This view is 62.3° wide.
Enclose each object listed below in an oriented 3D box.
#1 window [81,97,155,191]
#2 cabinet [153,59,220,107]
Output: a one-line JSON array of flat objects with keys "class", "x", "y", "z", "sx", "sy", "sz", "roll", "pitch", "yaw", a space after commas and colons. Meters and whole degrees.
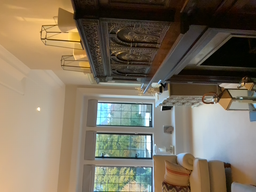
[{"class": "window", "x": -0.190, "y": 1.110, "z": 5.020, "sx": 0.090, "sy": 1.660, "sz": 2.100, "roll": 114, "pitch": 158, "yaw": -79}, {"class": "cabinet", "x": 0.970, "y": -0.180, "z": 3.840, "sx": 1.110, "sy": 0.840, "sz": 0.550, "roll": 111, "pitch": 161, "yaw": -78}]
